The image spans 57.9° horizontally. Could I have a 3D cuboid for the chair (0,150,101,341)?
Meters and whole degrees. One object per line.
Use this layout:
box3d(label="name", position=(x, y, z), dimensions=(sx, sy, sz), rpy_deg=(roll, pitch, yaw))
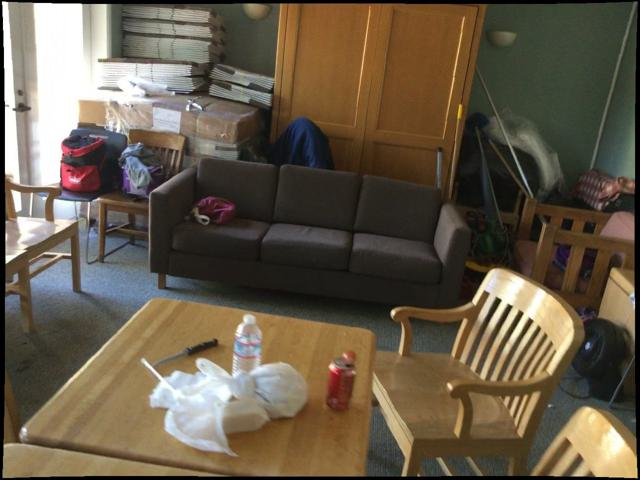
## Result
box3d(label="chair", position=(-1.708, -0.010, 3.190), dimensions=(0.649, 0.811, 0.700), rpy_deg=(5, 20, 4))

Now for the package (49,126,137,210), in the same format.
box3d(label="package", position=(-1.608, -0.531, 4.160), dimensions=(0.370, 0.460, 0.540), rpy_deg=(5, 20, 4))

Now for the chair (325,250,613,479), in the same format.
box3d(label="chair", position=(0.420, 0.531, 2.010), dimensions=(0.669, 0.791, 0.660), rpy_deg=(1, 20, -8))

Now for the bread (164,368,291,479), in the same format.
box3d(label="bread", position=(-0.190, 0.410, 1.280), dimensions=(0.210, 0.080, 0.300), rpy_deg=(5, 20, 4))
